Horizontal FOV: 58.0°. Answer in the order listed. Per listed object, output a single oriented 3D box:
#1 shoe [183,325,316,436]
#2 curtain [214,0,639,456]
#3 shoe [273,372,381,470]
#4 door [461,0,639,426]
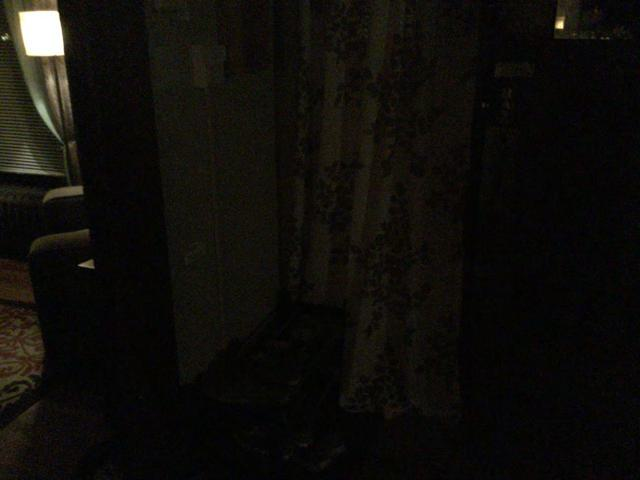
[{"bbox_3d":[-0.220,0.450,1.910,0.320,0.190,0.300,2,20,19],"label":"shoe"},{"bbox_3d":[0.930,-0.110,1.830,2.460,1.600,0.350,2,20,19],"label":"curtain"},{"bbox_3d":[0.040,0.650,2.130,0.290,0.110,0.370,2,20,19],"label":"shoe"},{"bbox_3d":[1.050,-0.110,1.870,1.130,1.540,0.190,2,20,19],"label":"door"}]
